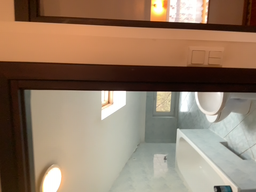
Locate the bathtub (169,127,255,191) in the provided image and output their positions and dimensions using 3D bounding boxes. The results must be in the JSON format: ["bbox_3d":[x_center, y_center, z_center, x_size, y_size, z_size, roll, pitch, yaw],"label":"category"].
[{"bbox_3d":[1.120,1.030,2.870,1.710,0.550,0.690,-125,36,-77],"label":"bathtub"}]
